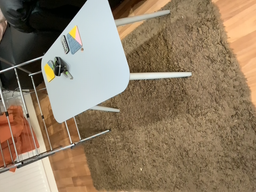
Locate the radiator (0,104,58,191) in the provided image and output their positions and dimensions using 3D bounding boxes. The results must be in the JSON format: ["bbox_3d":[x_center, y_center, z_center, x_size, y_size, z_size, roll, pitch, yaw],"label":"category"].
[{"bbox_3d":[-1.250,0.680,2.310,0.160,0.670,1.100,-28,78,45],"label":"radiator"}]

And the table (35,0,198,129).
[{"bbox_3d":[-0.110,-0.160,1.180,0.710,0.470,0.440,-26,79,45],"label":"table"}]
